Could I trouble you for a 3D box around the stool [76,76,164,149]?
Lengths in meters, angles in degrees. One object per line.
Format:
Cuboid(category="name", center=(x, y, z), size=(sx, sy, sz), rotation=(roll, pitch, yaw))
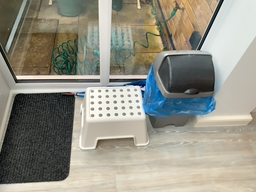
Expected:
Cuboid(category="stool", center=(-0.070, 0.100, 1.340), size=(0.470, 0.280, 0.340), rotation=(-2, 54, -8))
